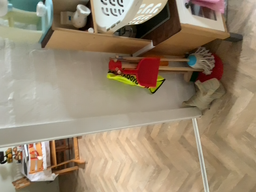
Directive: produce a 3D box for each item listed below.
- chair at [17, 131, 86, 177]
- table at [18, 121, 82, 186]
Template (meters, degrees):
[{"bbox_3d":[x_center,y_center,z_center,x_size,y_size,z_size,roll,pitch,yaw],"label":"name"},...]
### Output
[{"bbox_3d":[-1.210,0.860,3.340,0.600,0.860,0.470,-10,84,55],"label":"chair"},{"bbox_3d":[-1.460,0.970,3.820,1.300,0.730,0.860,-18,78,54],"label":"table"}]
